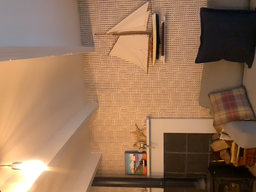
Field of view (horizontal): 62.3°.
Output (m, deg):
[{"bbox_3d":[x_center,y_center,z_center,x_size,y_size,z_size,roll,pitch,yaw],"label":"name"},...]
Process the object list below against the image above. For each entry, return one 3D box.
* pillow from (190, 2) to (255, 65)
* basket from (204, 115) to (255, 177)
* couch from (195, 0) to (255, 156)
[{"bbox_3d":[1.010,-0.630,2.210,0.300,0.590,0.550,-12,-71,-41],"label":"pillow"},{"bbox_3d":[1.270,0.570,2.560,0.570,0.490,0.520,-74,-17,-76],"label":"basket"},{"bbox_3d":[1.240,-0.550,2.060,1.060,0.810,1.910,-74,-17,-76],"label":"couch"}]
